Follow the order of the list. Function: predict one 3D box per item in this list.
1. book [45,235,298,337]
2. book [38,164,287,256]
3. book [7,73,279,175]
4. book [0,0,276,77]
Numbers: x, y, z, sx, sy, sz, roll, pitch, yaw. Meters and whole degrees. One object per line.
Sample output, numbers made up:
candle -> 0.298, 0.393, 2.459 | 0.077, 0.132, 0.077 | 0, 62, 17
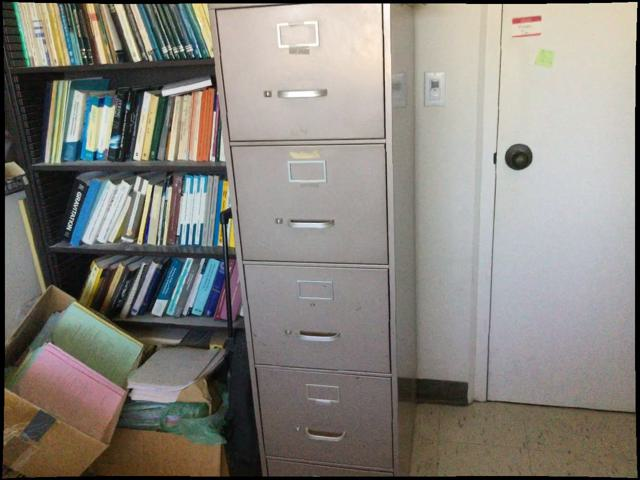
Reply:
book -> -0.549, 0.160, 2.210 | 0.868, 0.251, 0.300 | 1, 20, 11
book -> -0.559, -0.120, 2.110 | 0.818, 0.261, 0.260 | 1, 20, 11
book -> -0.588, -0.401, 1.990 | 0.828, 0.291, 0.280 | 1, 20, 11
book -> -0.608, -0.722, 1.880 | 0.878, 0.321, 0.240 | 1, 20, 11
